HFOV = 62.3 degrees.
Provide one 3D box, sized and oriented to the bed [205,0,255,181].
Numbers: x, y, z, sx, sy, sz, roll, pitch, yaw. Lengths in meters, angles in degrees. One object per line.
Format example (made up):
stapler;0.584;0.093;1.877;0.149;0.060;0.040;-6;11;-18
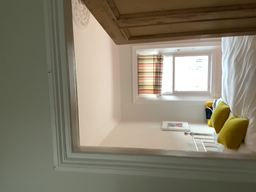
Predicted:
bed;1.710;-0.230;3.050;1.740;0.760;2.150;-41;-49;-77
